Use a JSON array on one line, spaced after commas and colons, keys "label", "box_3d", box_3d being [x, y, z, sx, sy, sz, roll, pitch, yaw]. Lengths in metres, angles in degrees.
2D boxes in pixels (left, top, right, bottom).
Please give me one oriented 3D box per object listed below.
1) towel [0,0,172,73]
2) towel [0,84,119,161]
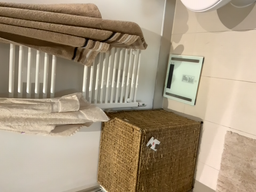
[{"label": "towel", "box_3d": [-0.320, -0.340, 1.070, 0.220, 1.310, 0.350, 17, 104, 50]}, {"label": "towel", "box_3d": [-0.510, 0.110, 1.050, 0.200, 0.970, 0.310, 18, 105, 50]}]
